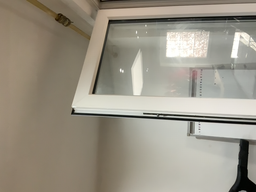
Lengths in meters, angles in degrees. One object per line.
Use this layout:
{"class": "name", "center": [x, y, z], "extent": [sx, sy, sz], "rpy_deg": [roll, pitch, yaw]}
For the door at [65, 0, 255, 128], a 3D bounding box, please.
{"class": "door", "center": [0.830, -0.220, 1.060], "extent": [0.100, 2.190, 0.810], "rpy_deg": [75, -159, -58]}
